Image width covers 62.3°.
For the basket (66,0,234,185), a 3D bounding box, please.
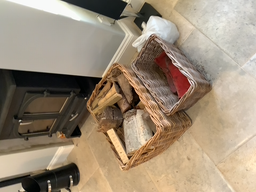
[{"bbox_3d":[0.040,0.010,1.480,0.940,0.370,0.740,-51,57,31],"label":"basket"}]
